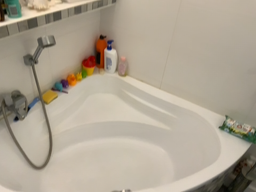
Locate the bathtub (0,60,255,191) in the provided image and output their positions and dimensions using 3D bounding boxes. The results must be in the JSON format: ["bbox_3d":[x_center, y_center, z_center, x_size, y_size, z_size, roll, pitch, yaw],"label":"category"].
[{"bbox_3d":[-0.090,0.470,1.300,1.300,0.530,1.280,26,41,21],"label":"bathtub"}]
